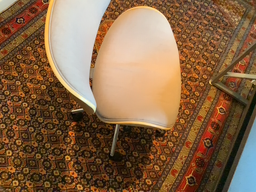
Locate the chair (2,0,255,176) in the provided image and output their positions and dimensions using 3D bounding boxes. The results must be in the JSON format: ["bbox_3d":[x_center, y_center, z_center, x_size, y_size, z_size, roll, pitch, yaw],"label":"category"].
[{"bbox_3d":[0.000,-0.030,1.000,0.620,0.840,0.620,13,65,-6],"label":"chair"}]
